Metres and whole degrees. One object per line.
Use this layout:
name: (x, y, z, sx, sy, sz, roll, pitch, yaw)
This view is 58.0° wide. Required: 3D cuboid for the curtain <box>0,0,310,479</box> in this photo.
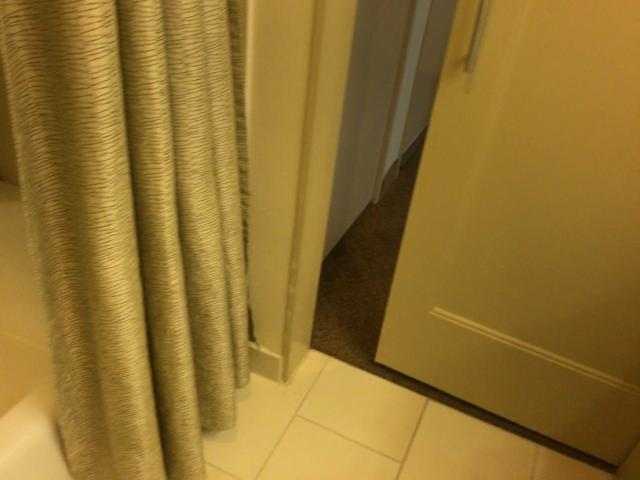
curtain: (-0.270, 0.040, 1.090, 0.220, 1.180, 0.560, 19, 39, 18)
